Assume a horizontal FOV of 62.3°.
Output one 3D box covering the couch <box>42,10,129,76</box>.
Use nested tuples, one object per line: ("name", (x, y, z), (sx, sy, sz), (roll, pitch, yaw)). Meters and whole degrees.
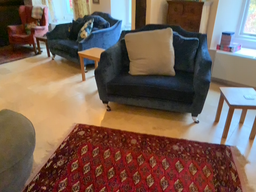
("couch", (-0.810, -1.130, 4.180), (1.250, 0.900, 1.090), (25, 37, 38))

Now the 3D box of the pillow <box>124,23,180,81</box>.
("pillow", (0.290, -0.530, 2.570), (0.590, 0.510, 0.320), (-9, 39, 5))

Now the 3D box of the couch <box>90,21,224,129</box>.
("couch", (0.360, -0.360, 2.690), (1.290, 0.930, 1.020), (7, 29, 13))
